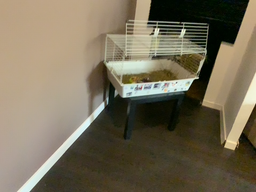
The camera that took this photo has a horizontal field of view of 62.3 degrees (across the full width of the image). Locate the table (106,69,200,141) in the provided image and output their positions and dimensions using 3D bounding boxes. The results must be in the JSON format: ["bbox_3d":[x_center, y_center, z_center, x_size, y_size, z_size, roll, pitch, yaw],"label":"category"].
[{"bbox_3d":[0.220,0.050,2.230,0.740,0.440,0.560,-7,33,-22],"label":"table"}]
